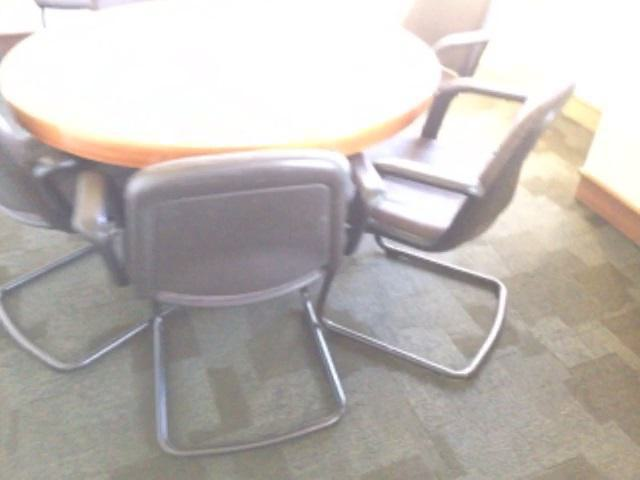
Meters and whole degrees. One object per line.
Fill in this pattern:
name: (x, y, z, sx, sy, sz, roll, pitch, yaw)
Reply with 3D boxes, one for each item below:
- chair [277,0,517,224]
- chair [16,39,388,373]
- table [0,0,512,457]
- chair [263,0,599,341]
chair: (0.250, -0.670, 2.380, 0.630, 0.850, 0.690, -15, 40, -20)
chair: (-0.230, -0.120, 1.310, 0.590, 0.450, 0.620, -4, 38, -8)
table: (-0.350, -0.240, 1.890, 1.220, 0.780, 1.250, -13, 40, -19)
chair: (0.290, -0.240, 1.560, 0.660, 0.570, 0.670, 12, 38, 13)
